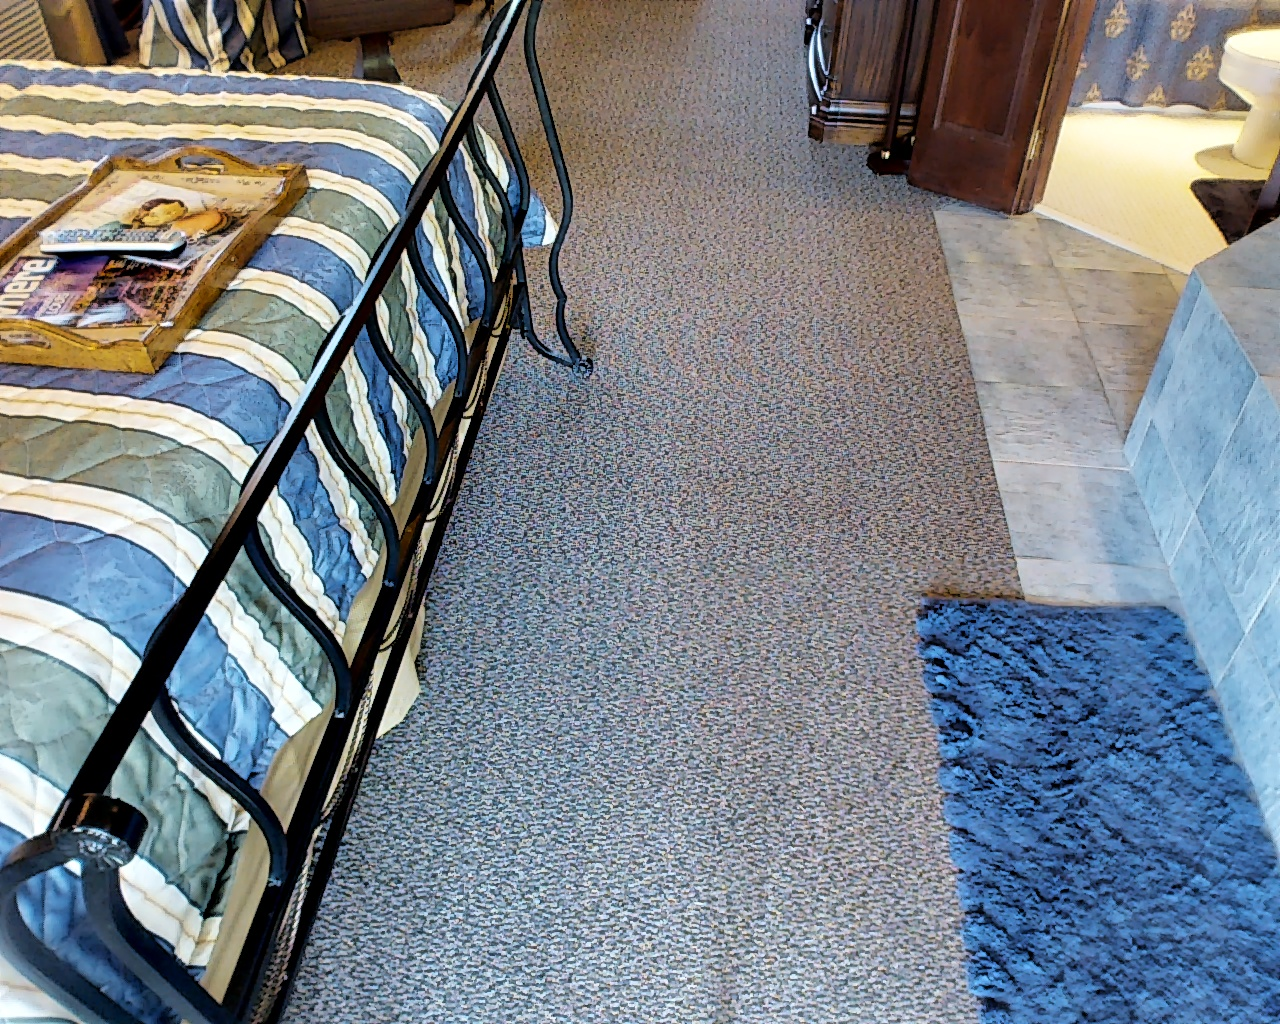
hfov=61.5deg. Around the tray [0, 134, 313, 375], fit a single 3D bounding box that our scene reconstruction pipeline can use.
[{"bbox_3d":[-0.790,-0.410,1.610,0.410,0.050,0.600,4,42,3],"label":"tray"}]
